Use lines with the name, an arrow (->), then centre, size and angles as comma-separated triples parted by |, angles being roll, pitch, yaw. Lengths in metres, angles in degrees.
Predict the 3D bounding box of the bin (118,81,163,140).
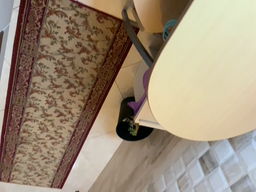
bin -> 0.080, 0.110, 1.630 | 0.190, 0.310, 0.280 | 15, 126, -20
